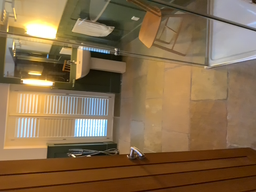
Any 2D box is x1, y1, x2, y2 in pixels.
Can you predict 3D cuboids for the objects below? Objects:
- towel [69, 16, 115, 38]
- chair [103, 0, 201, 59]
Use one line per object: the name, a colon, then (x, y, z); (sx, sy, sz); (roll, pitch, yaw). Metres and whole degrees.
towel: (-0.550, -1.010, 3.140); (0.500, 0.560, 0.060); (179, 95, -65)
chair: (0.230, -0.790, 2.270); (0.430, 0.800, 0.560); (-121, 42, -50)
